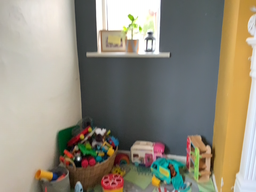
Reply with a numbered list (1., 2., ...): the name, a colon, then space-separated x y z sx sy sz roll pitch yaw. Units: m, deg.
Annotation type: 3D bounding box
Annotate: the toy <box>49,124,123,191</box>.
1. toy: -0.360 0.560 2.000 0.520 0.410 0.460 4 14 15
